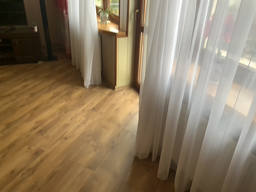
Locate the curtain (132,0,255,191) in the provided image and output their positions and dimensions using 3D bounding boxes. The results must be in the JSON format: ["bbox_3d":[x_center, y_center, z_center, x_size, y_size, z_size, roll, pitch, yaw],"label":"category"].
[{"bbox_3d":[0.730,-0.080,0.850,0.240,2.580,2.280,-13,34,-25],"label":"curtain"}]
